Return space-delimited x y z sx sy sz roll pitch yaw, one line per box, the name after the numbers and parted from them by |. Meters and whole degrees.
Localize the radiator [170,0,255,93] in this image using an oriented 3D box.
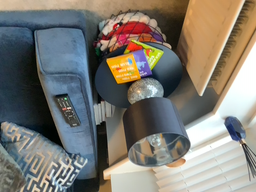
0.340 -0.500 0.800 0.090 0.490 0.900 -5 138 -6 | radiator
